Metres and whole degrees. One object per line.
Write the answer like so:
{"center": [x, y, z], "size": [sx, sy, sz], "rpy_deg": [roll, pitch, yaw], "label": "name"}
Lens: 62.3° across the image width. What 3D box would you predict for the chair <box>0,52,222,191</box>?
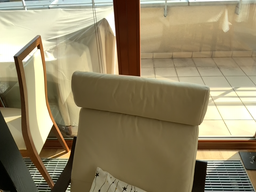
{"center": [-0.050, 0.480, 0.940], "size": [0.670, 0.980, 0.980], "rpy_deg": [8, 35, 16], "label": "chair"}
